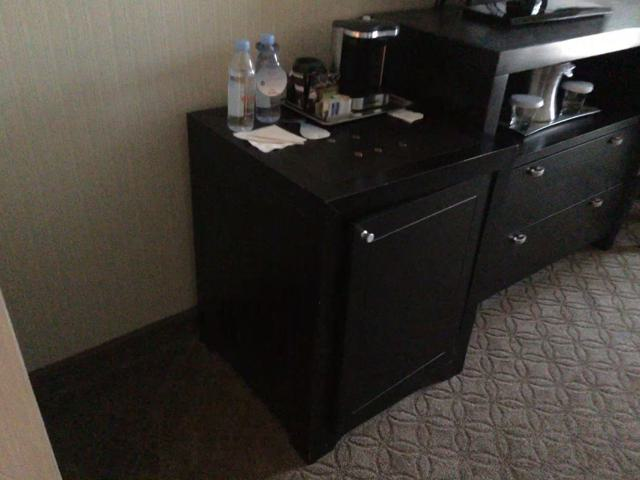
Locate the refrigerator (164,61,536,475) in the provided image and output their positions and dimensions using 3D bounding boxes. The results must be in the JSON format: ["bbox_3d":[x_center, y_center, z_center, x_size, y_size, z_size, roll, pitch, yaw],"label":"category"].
[{"bbox_3d":[0.050,0.010,1.670,0.670,0.820,0.670,-19,36,-31],"label":"refrigerator"}]

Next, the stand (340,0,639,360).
[{"bbox_3d":[0.720,-0.310,2.110,1.160,0.960,0.560,-19,36,-31],"label":"stand"}]
